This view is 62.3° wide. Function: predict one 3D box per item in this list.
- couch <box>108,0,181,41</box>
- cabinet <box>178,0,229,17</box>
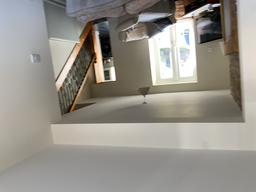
[{"bbox_3d":[0.380,-1.860,5.070,1.280,0.850,1.100,-10,-172,-29],"label":"couch"},{"bbox_3d":[1.620,-2.120,4.650,0.470,0.510,1.000,-9,-172,-24],"label":"cabinet"}]
